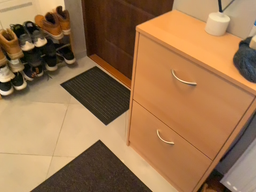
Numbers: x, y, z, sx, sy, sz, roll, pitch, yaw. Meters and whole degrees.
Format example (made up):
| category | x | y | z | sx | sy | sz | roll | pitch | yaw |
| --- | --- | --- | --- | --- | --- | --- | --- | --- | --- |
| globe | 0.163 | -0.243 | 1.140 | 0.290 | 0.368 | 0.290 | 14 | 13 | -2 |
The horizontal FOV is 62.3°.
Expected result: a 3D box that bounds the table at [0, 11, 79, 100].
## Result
| category | x | y | z | sx | sy | sz | roll | pitch | yaw |
| --- | --- | --- | --- | --- | --- | --- | --- | --- | --- |
| table | -0.790 | -0.350 | 1.740 | 0.710 | 0.430 | 0.240 | -32 | 56 | -31 |
